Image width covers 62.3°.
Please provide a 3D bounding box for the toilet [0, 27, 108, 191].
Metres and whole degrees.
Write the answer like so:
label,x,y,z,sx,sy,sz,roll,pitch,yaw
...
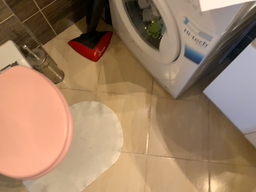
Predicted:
label,x,y,z,sx,sy,sz,roll,pitch,yaw
toilet,-0.440,0.090,1.010,0.360,0.440,0.570,-40,77,-9
